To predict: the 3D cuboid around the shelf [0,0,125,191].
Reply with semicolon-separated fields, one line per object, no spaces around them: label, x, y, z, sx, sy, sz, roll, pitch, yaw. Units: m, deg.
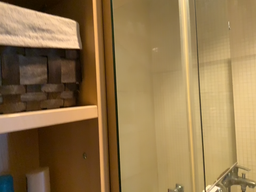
shelf;-0.150;-0.080;0.320;0.190;0.650;0.200;-3;-2;40
